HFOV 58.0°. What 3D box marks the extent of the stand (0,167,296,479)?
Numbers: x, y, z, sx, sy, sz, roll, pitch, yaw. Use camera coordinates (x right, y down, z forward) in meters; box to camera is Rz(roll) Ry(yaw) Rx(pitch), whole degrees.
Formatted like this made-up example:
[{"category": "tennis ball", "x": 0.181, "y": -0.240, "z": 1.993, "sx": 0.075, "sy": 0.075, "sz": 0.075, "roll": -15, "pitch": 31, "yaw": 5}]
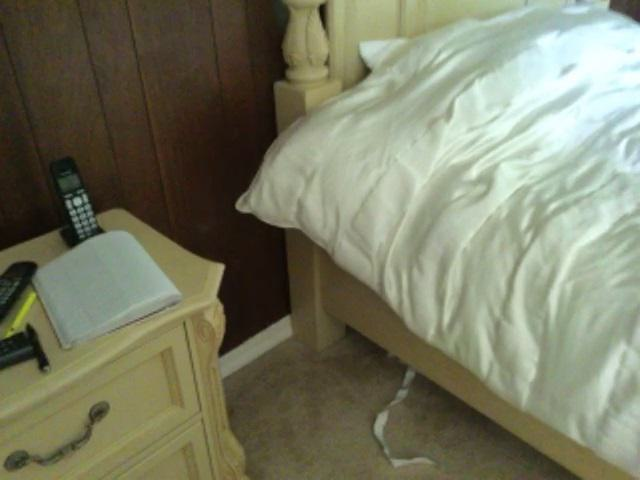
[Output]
[{"category": "stand", "x": -0.540, "y": 0.380, "z": 1.160, "sx": 0.770, "sy": 0.750, "sz": 0.540, "roll": -28, "pitch": 36, "yaw": -36}]
